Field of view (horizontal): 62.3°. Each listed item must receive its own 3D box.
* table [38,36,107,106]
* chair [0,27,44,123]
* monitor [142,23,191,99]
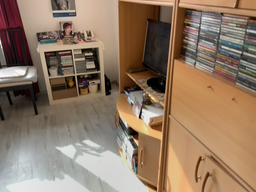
[{"bbox_3d":[-0.770,-0.380,3.030,0.820,0.810,0.420,-10,28,-19],"label":"table"},{"bbox_3d":[-1.400,-0.270,2.600,0.520,1.010,0.480,-10,28,-19],"label":"chair"},{"bbox_3d":[0.260,-0.310,1.660,0.050,0.450,0.630,-9,25,-17],"label":"monitor"}]
